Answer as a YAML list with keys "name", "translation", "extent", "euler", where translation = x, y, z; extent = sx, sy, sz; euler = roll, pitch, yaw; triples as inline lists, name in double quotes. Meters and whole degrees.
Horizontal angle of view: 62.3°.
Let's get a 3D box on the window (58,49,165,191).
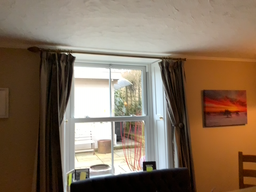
- name: "window"
  translation: [-0.230, 0.290, 2.910]
  extent: [1.380, 1.720, 0.380]
  euler: [0, -4, -17]
